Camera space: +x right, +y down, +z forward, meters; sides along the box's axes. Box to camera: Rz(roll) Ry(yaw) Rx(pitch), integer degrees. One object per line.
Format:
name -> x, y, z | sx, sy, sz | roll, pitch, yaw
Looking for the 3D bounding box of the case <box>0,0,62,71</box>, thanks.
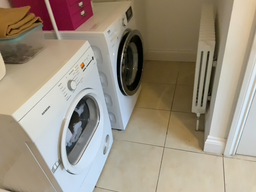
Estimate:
case -> -0.630, -0.320, 1.050 | 0.430, 0.220, 0.330 | 6, 40, 17
